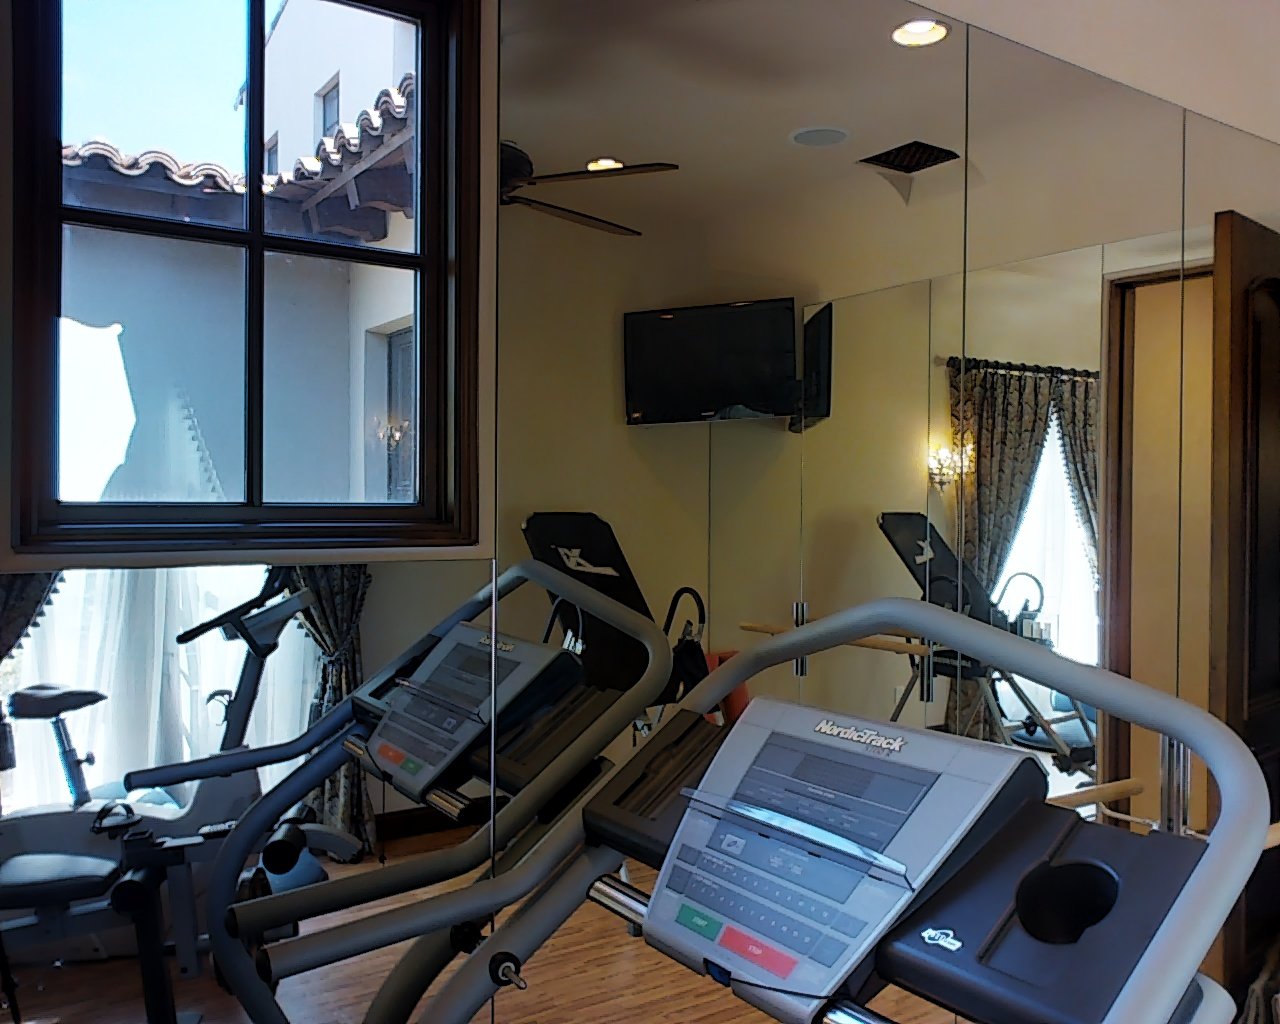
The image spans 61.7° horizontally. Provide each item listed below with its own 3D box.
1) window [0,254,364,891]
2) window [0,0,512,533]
[{"bbox_3d":[-2.000,0.220,4.400,1.640,2.350,0.360,-1,1,-33],"label":"window"},{"bbox_3d":[-0.550,-0.410,1.540,0.650,0.860,0.320,-1,1,-33],"label":"window"}]
